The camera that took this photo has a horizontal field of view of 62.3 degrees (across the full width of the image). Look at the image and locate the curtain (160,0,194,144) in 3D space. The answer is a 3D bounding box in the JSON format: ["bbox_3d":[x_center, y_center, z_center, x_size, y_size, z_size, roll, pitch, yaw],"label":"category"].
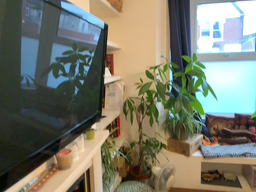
[{"bbox_3d":[0.630,-0.440,2.740,0.380,2.050,0.390,0,9,13],"label":"curtain"}]
